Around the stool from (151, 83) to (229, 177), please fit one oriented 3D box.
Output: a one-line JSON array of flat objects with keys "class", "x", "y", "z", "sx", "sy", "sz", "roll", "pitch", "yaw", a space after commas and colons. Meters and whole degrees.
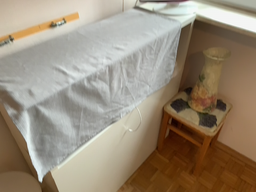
[{"class": "stool", "x": 0.430, "y": 0.240, "z": 1.550, "sx": 0.320, "sy": 0.470, "sz": 0.370, "roll": 31, "pitch": 48, "yaw": 29}]
